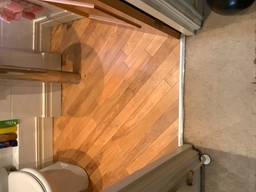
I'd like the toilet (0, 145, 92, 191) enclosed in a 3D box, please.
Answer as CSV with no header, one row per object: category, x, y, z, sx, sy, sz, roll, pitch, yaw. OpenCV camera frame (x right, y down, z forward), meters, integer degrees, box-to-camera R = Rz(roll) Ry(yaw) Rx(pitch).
toilet,-0.820,0.720,1.530,0.680,0.880,0.400,5,95,35
